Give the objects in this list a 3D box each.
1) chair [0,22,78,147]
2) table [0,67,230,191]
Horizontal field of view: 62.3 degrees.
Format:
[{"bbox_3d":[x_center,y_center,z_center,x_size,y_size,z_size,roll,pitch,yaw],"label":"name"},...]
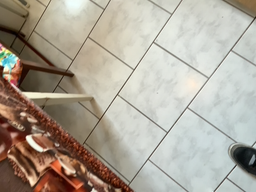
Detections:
[{"bbox_3d":[-0.700,-0.080,0.910,0.480,0.780,0.450,37,99,12],"label":"chair"},{"bbox_3d":[-0.090,0.380,0.760,0.960,0.760,0.460,37,99,12],"label":"table"}]
